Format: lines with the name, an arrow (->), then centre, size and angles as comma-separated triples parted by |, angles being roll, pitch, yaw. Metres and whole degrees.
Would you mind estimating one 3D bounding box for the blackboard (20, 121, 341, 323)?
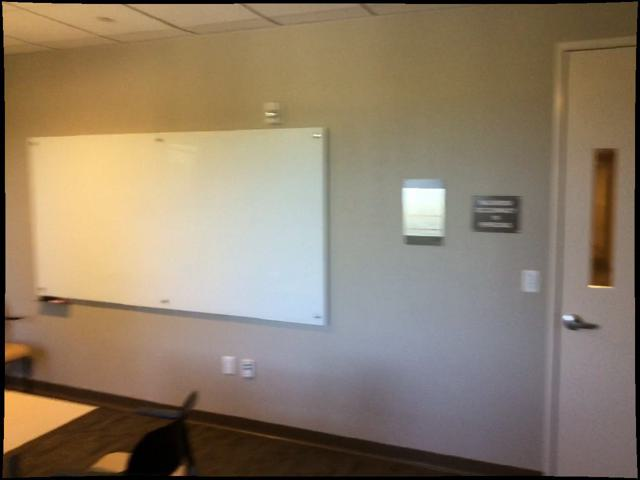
blackboard -> -0.999, -0.160, 3.860 | 2.298, 1.211, 0.140 | 3, 7, 17
